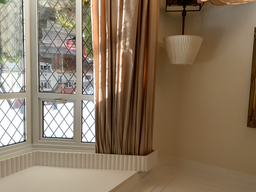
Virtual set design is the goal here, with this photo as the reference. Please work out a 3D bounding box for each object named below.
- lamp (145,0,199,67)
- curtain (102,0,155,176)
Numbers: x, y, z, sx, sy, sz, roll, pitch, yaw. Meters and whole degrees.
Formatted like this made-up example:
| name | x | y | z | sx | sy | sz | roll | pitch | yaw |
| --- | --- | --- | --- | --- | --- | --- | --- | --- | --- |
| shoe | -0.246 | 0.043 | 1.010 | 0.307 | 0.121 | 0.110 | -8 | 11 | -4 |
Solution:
| name | x | y | z | sx | sy | sz | roll | pitch | yaw |
| --- | --- | --- | --- | --- | --- | --- | --- | --- | --- |
| lamp | 0.500 | -0.660 | 2.380 | 0.450 | 0.640 | 0.430 | 5 | -173 | 31 |
| curtain | 0.020 | -0.240 | 1.980 | 0.270 | 1.770 | 0.530 | 4 | -172 | 26 |
